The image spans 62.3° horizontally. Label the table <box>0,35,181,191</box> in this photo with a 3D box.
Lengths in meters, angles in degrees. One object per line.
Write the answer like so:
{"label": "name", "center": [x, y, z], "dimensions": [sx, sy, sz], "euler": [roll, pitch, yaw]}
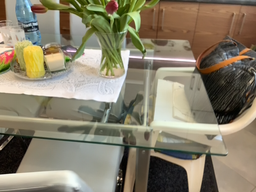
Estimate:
{"label": "table", "center": [-0.560, 0.190, 1.160], "dimensions": [1.500, 0.760, 0.840], "euler": [6, 33, 6]}
